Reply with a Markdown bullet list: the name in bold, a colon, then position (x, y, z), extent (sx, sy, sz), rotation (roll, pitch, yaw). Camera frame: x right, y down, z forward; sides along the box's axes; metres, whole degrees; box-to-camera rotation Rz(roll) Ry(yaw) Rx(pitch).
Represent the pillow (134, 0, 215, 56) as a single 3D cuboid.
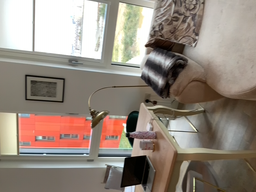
- **pillow**: position (0.470, -0.810, 2.140), extent (0.600, 0.520, 0.270), rotation (-52, 27, -5)
